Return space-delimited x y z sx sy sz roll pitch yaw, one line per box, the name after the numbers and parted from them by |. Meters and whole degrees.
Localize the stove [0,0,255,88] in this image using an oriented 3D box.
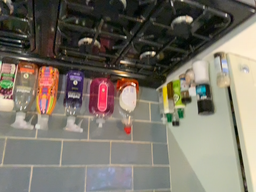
-0.250 -0.260 0.670 1.100 0.160 0.600 6 161 -21 | stove
